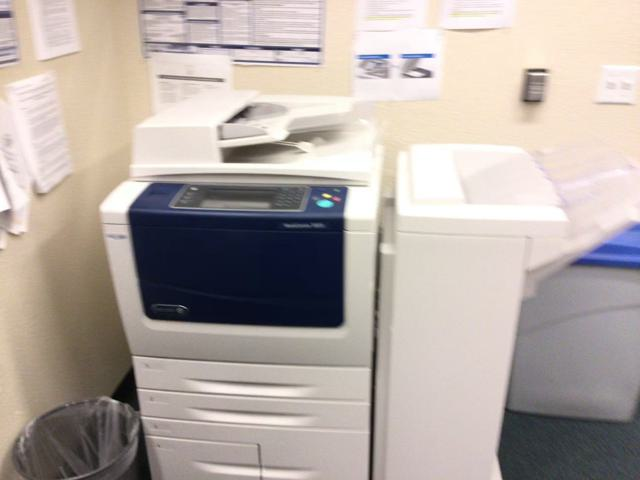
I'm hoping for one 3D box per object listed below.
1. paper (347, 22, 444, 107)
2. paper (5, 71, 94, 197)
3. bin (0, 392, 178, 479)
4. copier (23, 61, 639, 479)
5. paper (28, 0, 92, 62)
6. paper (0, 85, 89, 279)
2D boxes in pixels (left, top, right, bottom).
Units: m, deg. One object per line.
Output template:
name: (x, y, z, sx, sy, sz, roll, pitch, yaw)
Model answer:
paper: (0.240, -0.550, 1.820, 0.290, 0.230, 0.050, -3, 23, 6)
paper: (-0.690, -0.280, 1.500, 0.050, 0.280, 0.210, -3, 23, 6)
bin: (-0.590, 0.630, 1.500, 0.310, 0.340, 0.290, -3, 23, 6)
copier: (0.130, 0.180, 1.610, 1.330, 1.130, 0.620, -3, 23, 6)
paper: (-0.680, -0.570, 1.520, 0.020, 0.170, 0.230, -3, 23, 6)
paper: (-0.690, -0.140, 1.280, 0.130, 0.340, 0.330, -3, 23, 6)
